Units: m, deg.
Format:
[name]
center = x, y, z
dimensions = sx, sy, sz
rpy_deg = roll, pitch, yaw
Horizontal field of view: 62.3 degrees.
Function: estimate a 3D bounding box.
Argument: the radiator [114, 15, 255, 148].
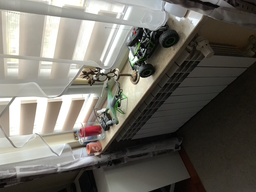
[radiator]
center = 0.370, -0.010, 1.400
dimensions = 0.970, 0.630, 0.160
rpy_deg = -59, 45, 43
